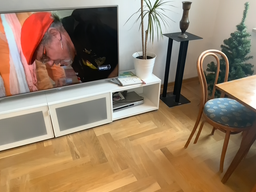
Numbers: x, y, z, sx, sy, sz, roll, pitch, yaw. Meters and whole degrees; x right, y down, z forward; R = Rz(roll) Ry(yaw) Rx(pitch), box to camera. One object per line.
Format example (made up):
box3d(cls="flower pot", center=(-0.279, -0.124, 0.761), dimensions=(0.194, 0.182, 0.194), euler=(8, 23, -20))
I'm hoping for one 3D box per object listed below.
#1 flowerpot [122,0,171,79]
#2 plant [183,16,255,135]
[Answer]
box3d(cls="flowerpot", center=(0.180, -0.830, 2.170), dimensions=(0.420, 1.280, 0.230), euler=(-12, 33, -21))
box3d(cls="plant", center=(1.120, -0.260, 2.380), dimensions=(0.490, 1.070, 0.720), euler=(-12, 33, -21))
